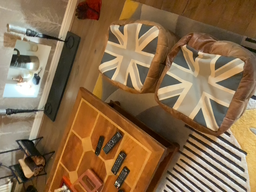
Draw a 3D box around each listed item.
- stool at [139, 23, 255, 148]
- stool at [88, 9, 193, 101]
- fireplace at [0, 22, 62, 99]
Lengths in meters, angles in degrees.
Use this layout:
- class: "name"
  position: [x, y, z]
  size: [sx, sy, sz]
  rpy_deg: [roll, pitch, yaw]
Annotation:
- class: "stool"
  position: [0.470, -0.080, 1.300]
  size: [0.530, 0.410, 0.510]
  rpy_deg: [29, 107, 33]
- class: "stool"
  position: [0.080, -0.300, 1.600]
  size: [0.540, 0.390, 0.480]
  rpy_deg: [29, 107, 33]
- class: "fireplace"
  position: [-1.220, -0.390, 2.450]
  size: [0.500, 0.530, 0.690]
  rpy_deg: [32, 108, 32]
